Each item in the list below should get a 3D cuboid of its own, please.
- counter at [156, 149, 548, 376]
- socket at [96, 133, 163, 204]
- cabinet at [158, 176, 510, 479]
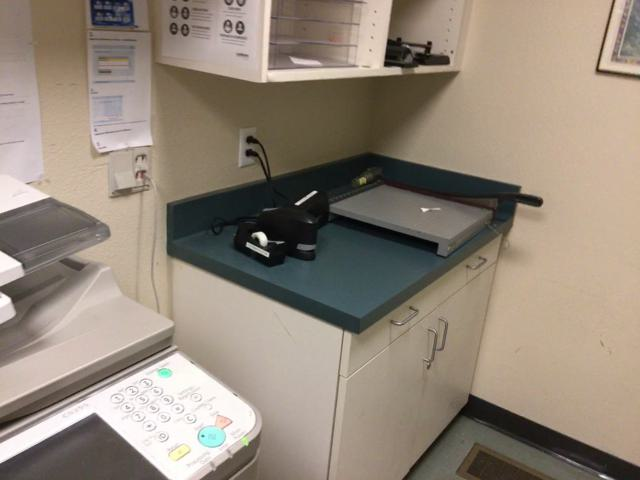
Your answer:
[{"bbox_3d":[0.160,-0.040,1.710,0.690,0.220,1.030,16,24,32],"label":"counter"},{"bbox_3d":[-0.440,-0.170,1.350,0.020,0.140,0.160,16,24,32],"label":"socket"},{"bbox_3d":[0.090,0.360,1.880,0.610,0.890,0.980,16,24,32],"label":"cabinet"}]
